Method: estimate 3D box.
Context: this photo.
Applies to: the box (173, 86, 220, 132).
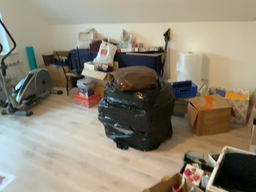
[{"bbox_3d":[0.910,0.150,2.830,0.500,0.370,0.380,-22,29,-39],"label":"box"}]
